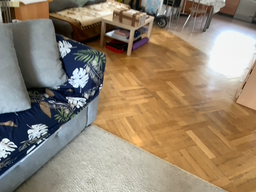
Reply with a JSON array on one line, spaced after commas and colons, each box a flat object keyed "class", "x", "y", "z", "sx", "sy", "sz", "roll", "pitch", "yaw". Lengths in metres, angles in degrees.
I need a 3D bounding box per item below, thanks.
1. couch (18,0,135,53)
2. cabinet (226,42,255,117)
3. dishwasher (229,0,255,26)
[{"class": "couch", "x": -0.770, "y": -1.560, "z": 3.850, "sx": 0.960, "sy": 0.740, "sz": 2.030, "roll": 23, "pitch": 36, "yaw": 18}, {"class": "cabinet", "x": 1.620, "y": -0.250, "z": 2.670, "sx": 0.360, "sy": 0.680, "sz": 0.730, "roll": 26, "pitch": 37, "yaw": 22}, {"class": "dishwasher", "x": 3.920, "y": -2.900, "z": 7.090, "sx": 0.610, "sy": 0.850, "sz": 0.600, "roll": 25, "pitch": 37, "yaw": 20}]
